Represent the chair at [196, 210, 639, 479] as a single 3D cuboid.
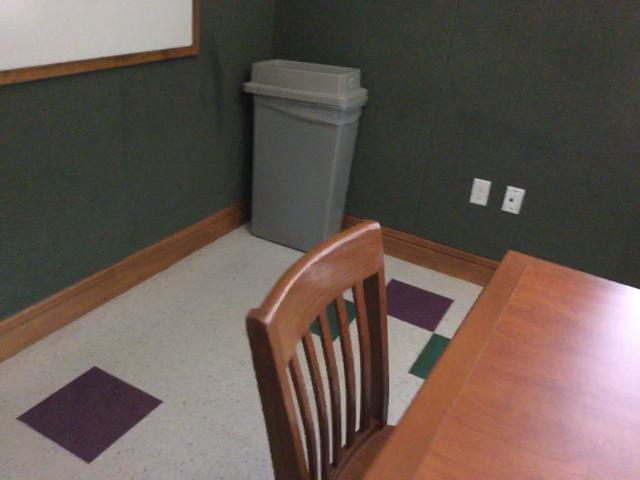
[{"bbox_3d":[0.200,0.510,1.020,0.660,0.890,0.470,17,28,23],"label":"chair"}]
